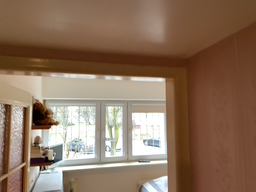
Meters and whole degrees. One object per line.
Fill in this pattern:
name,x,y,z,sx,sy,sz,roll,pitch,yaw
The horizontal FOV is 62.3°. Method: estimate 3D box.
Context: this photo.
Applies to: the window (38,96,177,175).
window,-0.270,0.660,3.870,2.490,1.250,0.180,1,-5,-18
